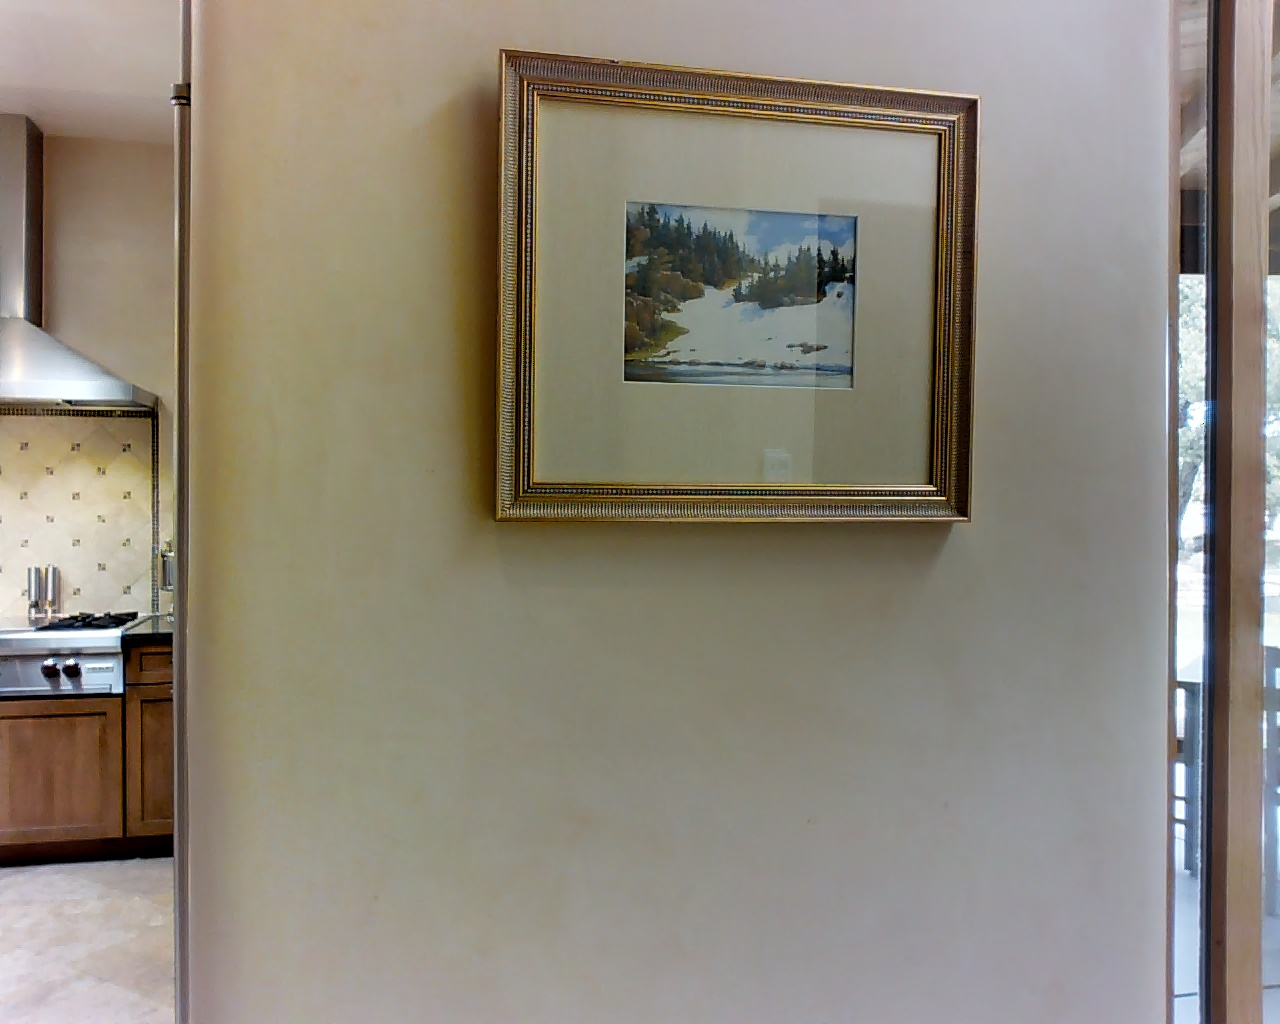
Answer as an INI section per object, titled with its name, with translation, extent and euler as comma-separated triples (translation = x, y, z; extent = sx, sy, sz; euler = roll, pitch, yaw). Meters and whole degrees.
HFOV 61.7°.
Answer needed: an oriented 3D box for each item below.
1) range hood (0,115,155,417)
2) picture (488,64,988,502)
[range hood]
translation = -2.649, -1.020, 4.530
extent = 1.040, 1.180, 0.380
euler = 0, 1, -14
[picture]
translation = 0.100, -0.200, 1.010
extent = 0.480, 0.380, 0.040
euler = 0, 1, -13
